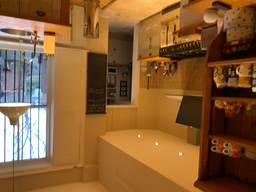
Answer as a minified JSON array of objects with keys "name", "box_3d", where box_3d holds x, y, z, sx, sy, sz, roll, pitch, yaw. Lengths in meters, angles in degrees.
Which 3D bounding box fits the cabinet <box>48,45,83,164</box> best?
[{"name":"cabinet","box_3d":[-1.250,0.170,4.210,0.560,2.240,0.250,1,-176,-29]}]

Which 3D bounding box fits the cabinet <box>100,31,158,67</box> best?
[{"name":"cabinet","box_3d":[0.080,-1.420,6.680,1.870,0.850,0.350,1,-176,-30]}]
